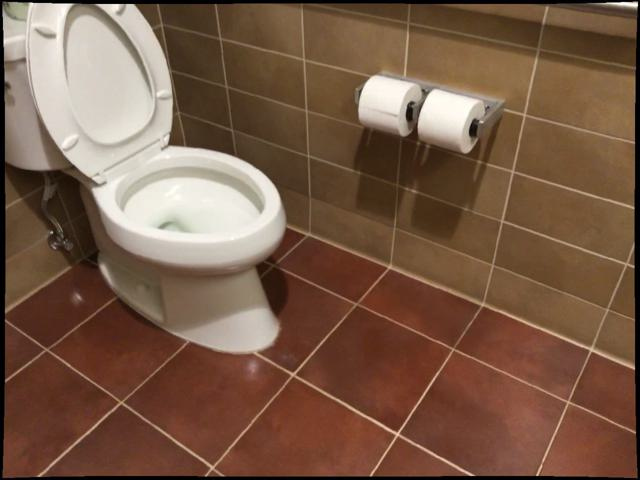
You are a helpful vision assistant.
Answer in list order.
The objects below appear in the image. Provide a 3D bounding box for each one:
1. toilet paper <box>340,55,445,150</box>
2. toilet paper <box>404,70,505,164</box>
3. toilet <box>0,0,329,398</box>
[{"bbox_3d":[0.170,-0.330,1.370,0.190,0.130,0.150,23,46,27],"label":"toilet paper"},{"bbox_3d":[0.300,-0.280,1.300,0.160,0.120,0.150,23,46,27],"label":"toilet paper"},{"bbox_3d":[-0.430,-0.190,1.450,0.780,0.861,0.420,23,46,27],"label":"toilet"}]
